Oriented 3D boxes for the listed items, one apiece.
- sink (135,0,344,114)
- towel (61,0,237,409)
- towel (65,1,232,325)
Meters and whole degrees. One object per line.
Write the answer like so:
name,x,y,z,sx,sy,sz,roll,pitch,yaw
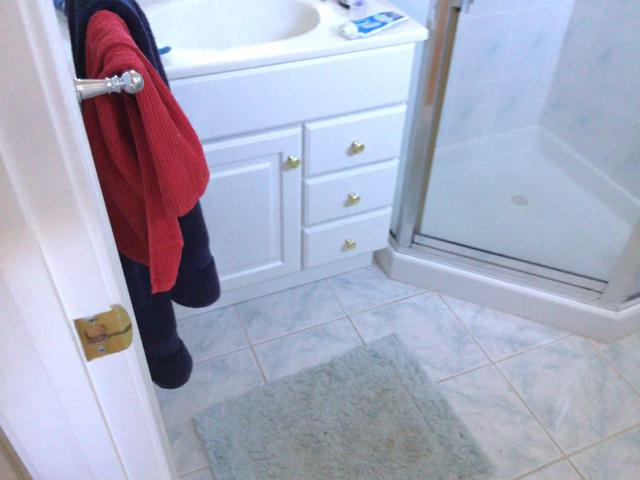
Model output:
sink,-0.210,-0.520,1.400,0.420,0.240,0.360,-11,40,-17
towel,-0.300,-0.070,1.100,0.180,0.860,0.270,-11,40,-17
towel,-0.230,-0.100,0.810,0.150,0.390,0.190,-11,40,-17
